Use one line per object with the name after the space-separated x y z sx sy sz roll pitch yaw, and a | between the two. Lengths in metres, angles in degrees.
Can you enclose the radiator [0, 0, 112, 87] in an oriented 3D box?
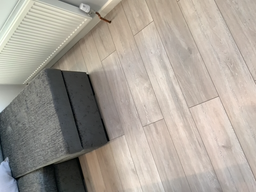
-0.860 -0.360 1.900 1.360 0.700 0.080 -24 76 37 | radiator
